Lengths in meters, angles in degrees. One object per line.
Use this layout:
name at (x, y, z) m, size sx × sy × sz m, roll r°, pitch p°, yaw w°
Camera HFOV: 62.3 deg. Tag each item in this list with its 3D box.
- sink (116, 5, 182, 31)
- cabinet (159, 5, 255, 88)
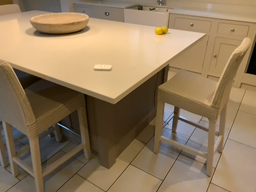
sink at (0.350, -1.300, 3.460) m, size 0.820 × 0.220 × 0.710 m, roll 19°, pitch 35°, yaw 29°
cabinet at (1.160, -0.790, 3.130) m, size 1.140 × 0.880 × 0.700 m, roll 19°, pitch 35°, yaw 29°
